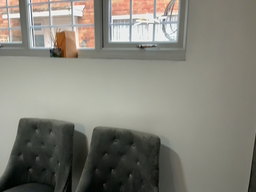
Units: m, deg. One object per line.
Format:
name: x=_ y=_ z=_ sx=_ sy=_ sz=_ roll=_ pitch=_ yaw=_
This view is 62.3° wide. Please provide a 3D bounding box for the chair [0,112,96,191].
chair: x=-0.650 y=0.690 z=1.470 sx=0.590 sy=0.960 sz=0.680 roll=5 pitch=13 yaw=20
